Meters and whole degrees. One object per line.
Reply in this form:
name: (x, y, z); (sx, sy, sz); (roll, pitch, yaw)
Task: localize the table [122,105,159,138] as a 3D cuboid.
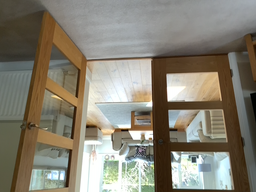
table: (0.330, 0.650, 5.060); (0.770, 0.550, 1.050); (-1, 160, 7)
